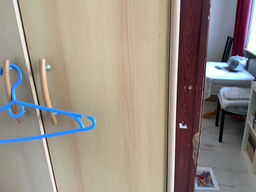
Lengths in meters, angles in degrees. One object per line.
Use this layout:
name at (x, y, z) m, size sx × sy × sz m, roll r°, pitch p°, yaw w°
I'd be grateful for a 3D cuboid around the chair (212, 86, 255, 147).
chair at (1.280, 0.230, 2.570) m, size 0.390 × 0.560 × 0.460 m, roll 3°, pitch 22°, yaw 14°
